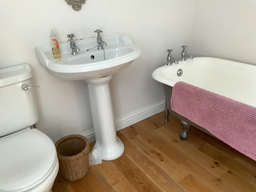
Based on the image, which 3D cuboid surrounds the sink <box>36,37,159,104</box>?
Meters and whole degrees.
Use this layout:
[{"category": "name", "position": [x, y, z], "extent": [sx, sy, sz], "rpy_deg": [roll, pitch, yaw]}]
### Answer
[{"category": "sink", "position": [-0.200, -0.220, 1.440], "extent": [0.670, 0.190, 0.460], "rpy_deg": [-20, 30, -29]}]

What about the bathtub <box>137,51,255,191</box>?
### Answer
[{"category": "bathtub", "position": [0.890, 0.200, 1.460], "extent": [0.750, 0.590, 1.710], "rpy_deg": [-20, 30, -29]}]

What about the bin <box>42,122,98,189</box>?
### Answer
[{"category": "bin", "position": [-0.440, 0.430, 1.600], "extent": [0.260, 0.270, 0.340], "rpy_deg": [-20, 30, -29]}]
